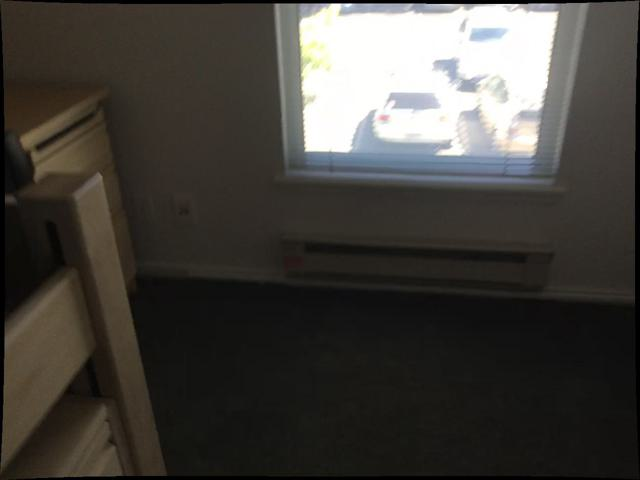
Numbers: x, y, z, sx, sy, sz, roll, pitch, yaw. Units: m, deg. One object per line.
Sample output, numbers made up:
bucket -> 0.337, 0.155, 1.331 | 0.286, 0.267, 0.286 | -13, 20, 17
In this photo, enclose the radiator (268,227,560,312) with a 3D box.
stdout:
radiator -> 0.309, 0.100, 2.040 | 0.968, 0.240, 0.100 | 2, 31, 7
